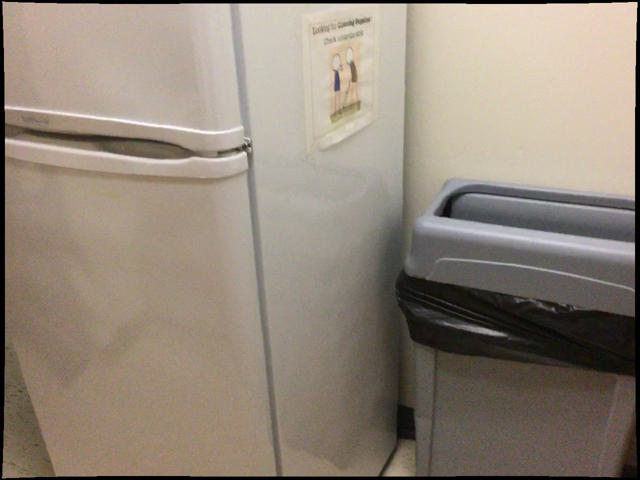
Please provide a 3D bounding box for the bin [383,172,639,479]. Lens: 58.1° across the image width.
[{"bbox_3d":[0.489,0.341,1.390,0.599,0.892,0.320,9,29,23],"label":"bin"}]
